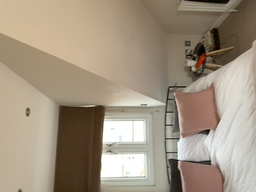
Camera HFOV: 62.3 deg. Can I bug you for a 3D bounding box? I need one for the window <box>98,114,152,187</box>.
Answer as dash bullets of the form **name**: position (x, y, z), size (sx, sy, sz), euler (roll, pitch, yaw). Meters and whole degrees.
- **window**: position (-0.040, 0.750, 3.000), size (0.120, 0.730, 0.980), euler (113, 157, -78)
